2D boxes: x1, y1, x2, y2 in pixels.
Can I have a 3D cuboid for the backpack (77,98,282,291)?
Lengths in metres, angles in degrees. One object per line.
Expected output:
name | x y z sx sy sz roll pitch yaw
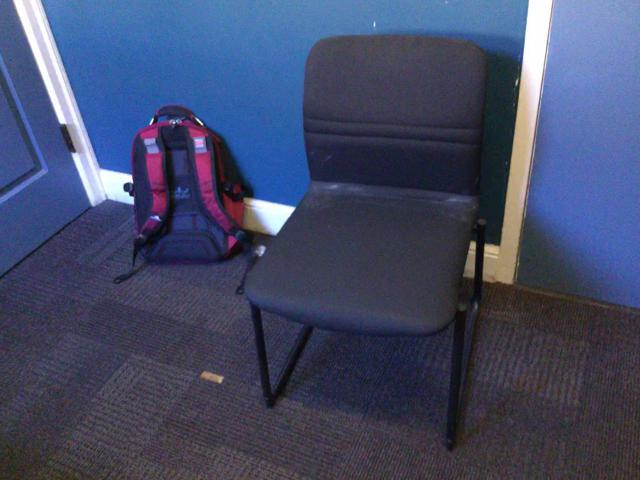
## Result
backpack | -0.460 -0.170 2.010 0.490 0.510 0.330 11 38 24
